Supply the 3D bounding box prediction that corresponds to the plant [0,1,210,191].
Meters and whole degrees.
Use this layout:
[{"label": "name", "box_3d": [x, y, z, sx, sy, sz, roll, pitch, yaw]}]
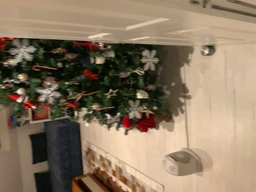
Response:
[{"label": "plant", "box_3d": [-0.450, -0.110, 1.860, 1.130, 1.710, 1.110, 38, 126, 48]}]
